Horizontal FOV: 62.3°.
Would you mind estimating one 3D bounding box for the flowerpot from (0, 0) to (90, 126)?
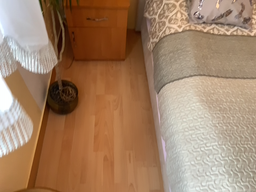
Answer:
[{"bbox_3d":[-0.360,-0.390,1.000,0.260,1.220,0.550,0,55,-6],"label":"flowerpot"}]
